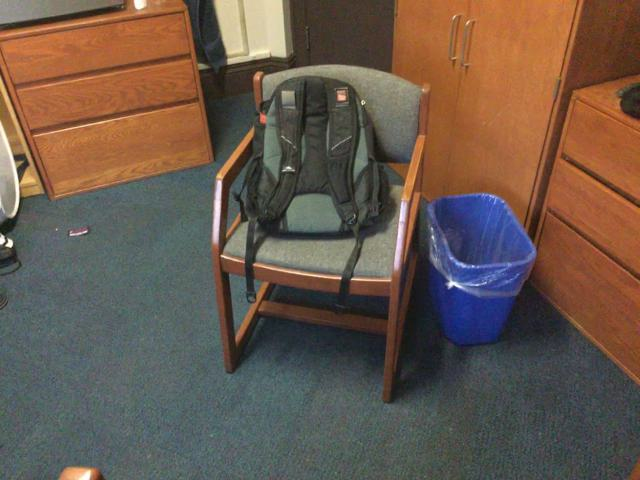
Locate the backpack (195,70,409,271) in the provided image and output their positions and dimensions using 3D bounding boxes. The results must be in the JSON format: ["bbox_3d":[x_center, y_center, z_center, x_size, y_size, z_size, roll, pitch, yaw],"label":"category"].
[{"bbox_3d":[-0.030,-0.210,1.600,0.440,0.330,0.400,12,40,16],"label":"backpack"}]

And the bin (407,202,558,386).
[{"bbox_3d":[0.470,0.160,1.790,0.280,0.380,0.390,-5,38,-6],"label":"bin"}]

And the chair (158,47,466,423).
[{"bbox_3d":[0.030,-0.050,1.760,0.600,0.780,0.710,12,40,16],"label":"chair"}]
